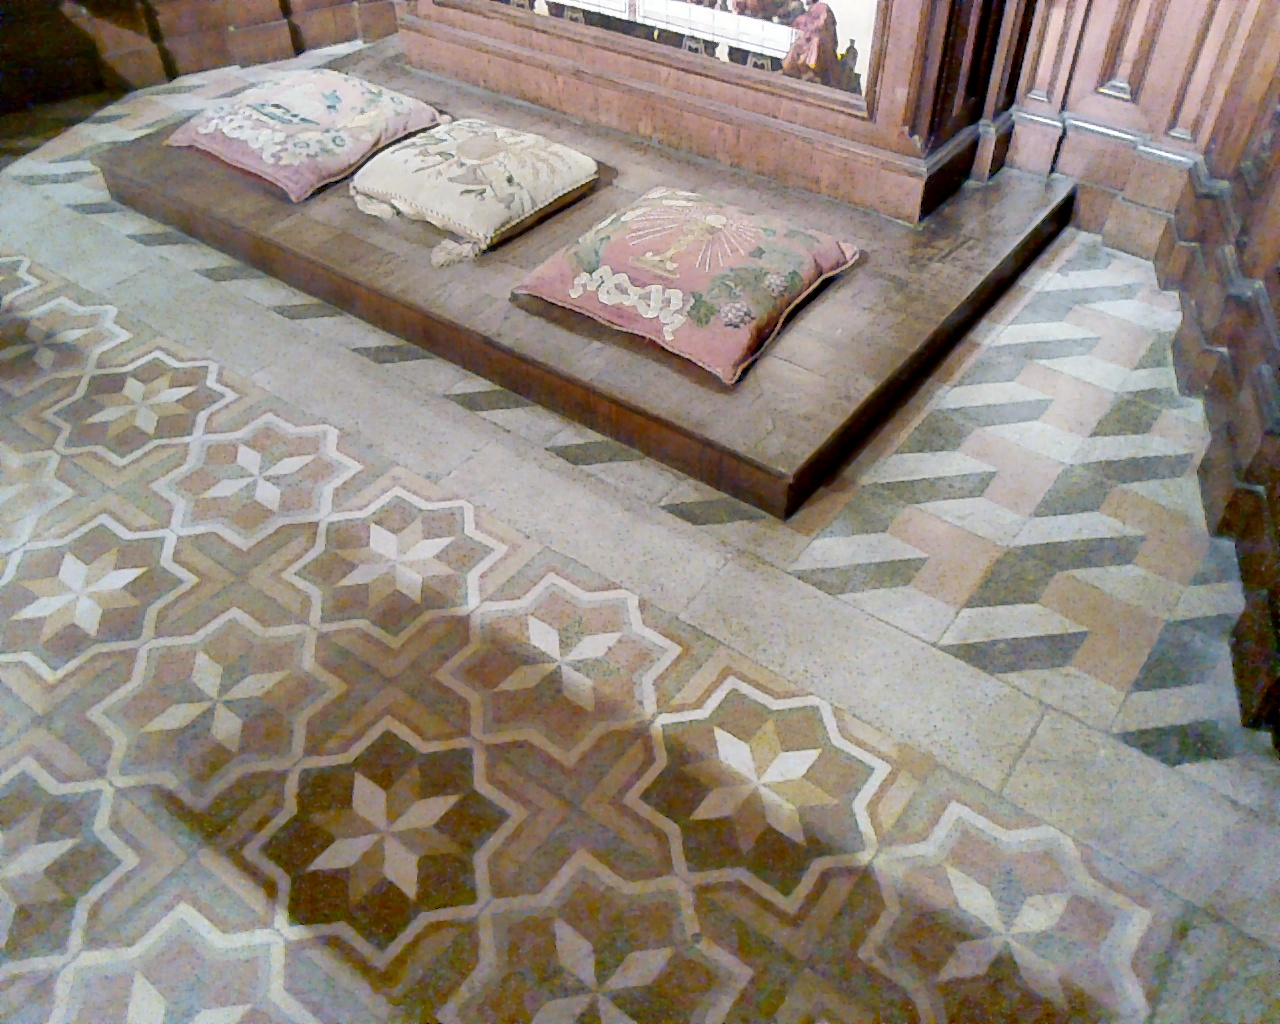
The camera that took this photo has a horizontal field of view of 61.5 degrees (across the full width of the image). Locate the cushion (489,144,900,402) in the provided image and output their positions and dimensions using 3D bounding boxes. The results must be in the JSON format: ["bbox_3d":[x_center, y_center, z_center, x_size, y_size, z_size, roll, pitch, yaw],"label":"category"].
[{"bbox_3d":[0.130,-0.580,2.450,0.660,0.120,0.660,28,50,27],"label":"cushion"}]

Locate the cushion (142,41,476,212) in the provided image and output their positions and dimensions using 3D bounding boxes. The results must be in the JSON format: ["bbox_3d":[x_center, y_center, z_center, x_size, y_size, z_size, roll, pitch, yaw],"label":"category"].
[{"bbox_3d":[-0.920,-1.110,3.030,0.620,0.110,0.650,28,50,27],"label":"cushion"}]

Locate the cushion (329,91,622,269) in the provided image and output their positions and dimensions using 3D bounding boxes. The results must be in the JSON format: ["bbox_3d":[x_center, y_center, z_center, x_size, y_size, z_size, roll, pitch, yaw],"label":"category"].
[{"bbox_3d":[-0.410,-0.870,2.760,0.500,0.130,0.540,28,50,27],"label":"cushion"}]
